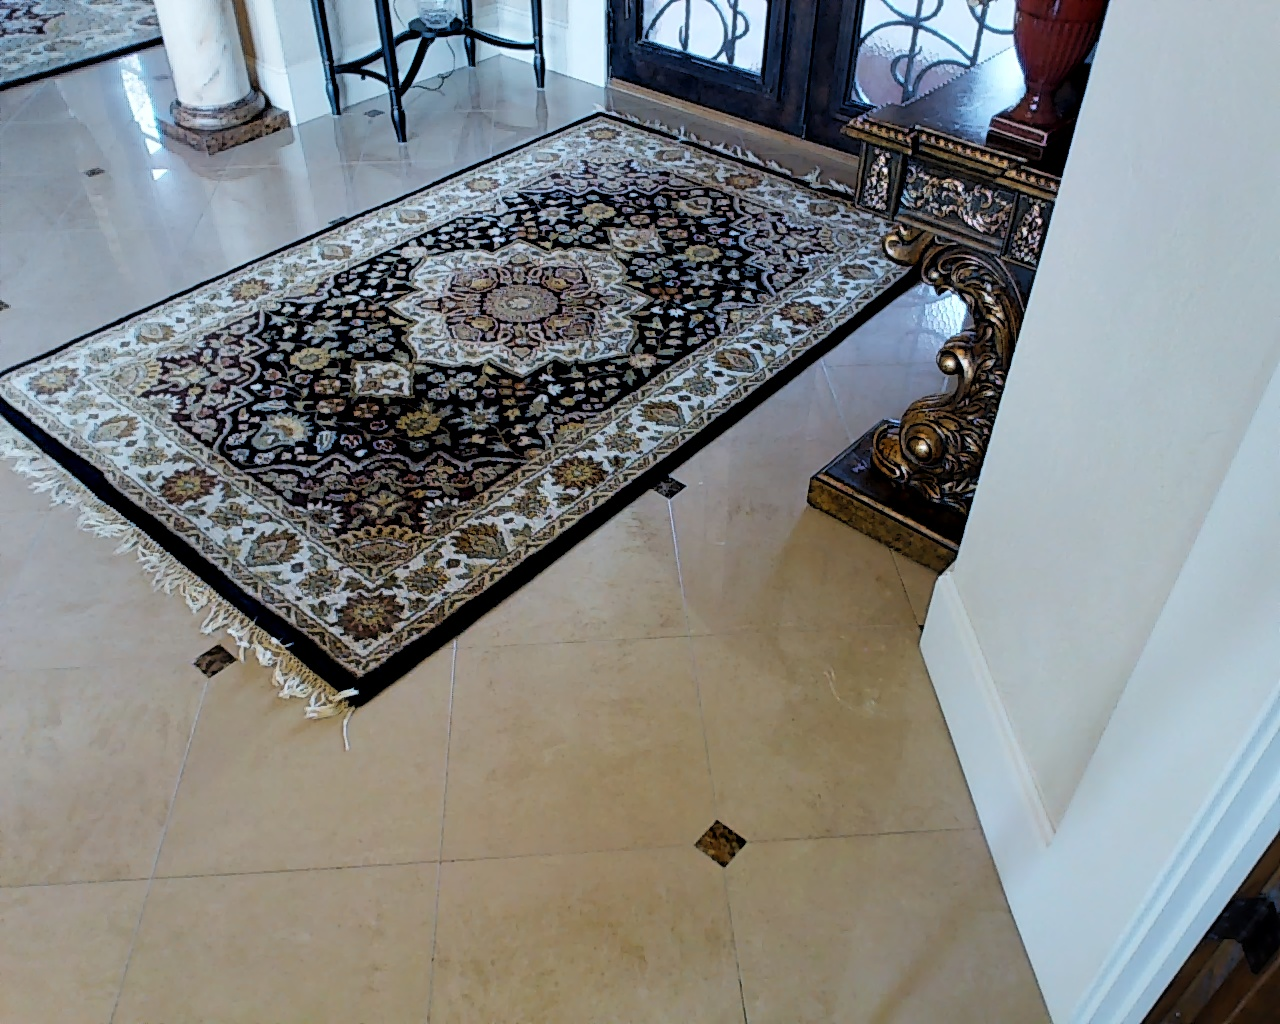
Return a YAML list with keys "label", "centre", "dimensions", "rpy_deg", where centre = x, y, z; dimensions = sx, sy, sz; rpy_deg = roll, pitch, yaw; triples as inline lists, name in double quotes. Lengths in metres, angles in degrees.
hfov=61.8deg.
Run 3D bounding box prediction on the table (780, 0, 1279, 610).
- label: "table"
  centre: [0.910, -0.580, 2.320]
  dimensions: [0.450, 0.940, 1.310]
  rpy_deg: [30, 49, 29]
